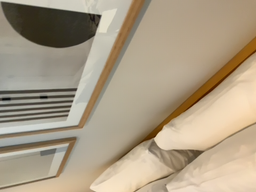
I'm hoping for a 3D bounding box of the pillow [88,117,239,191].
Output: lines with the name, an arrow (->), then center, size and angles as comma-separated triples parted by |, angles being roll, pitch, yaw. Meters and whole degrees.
pillow -> 0.100, 0.510, 1.150 | 0.800, 0.370, 0.410 | -57, 45, 47
